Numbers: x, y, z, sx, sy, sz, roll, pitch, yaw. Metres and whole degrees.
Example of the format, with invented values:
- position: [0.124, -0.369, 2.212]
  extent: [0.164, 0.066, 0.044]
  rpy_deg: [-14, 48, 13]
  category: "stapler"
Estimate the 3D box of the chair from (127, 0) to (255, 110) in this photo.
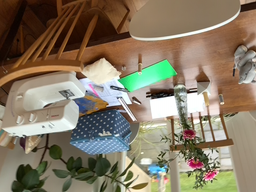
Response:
- position: [0.280, -0.440, 1.150]
  extent: [0.430, 0.850, 0.520]
  rpy_deg: [-6, 146, 13]
  category: "chair"

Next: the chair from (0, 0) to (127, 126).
- position: [-0.290, -0.360, 1.250]
  extent: [0.420, 0.920, 0.480]
  rpy_deg: [-7, 146, 15]
  category: "chair"
